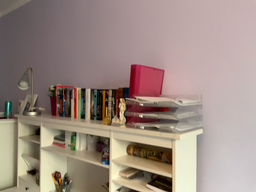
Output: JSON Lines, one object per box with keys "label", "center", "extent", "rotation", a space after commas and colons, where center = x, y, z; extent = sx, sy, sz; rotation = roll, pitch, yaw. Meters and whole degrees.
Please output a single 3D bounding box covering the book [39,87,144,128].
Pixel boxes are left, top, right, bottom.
{"label": "book", "center": [-0.310, 0.060, 1.520], "extent": [0.880, 0.230, 0.200], "rotation": [1, -1, 38]}
